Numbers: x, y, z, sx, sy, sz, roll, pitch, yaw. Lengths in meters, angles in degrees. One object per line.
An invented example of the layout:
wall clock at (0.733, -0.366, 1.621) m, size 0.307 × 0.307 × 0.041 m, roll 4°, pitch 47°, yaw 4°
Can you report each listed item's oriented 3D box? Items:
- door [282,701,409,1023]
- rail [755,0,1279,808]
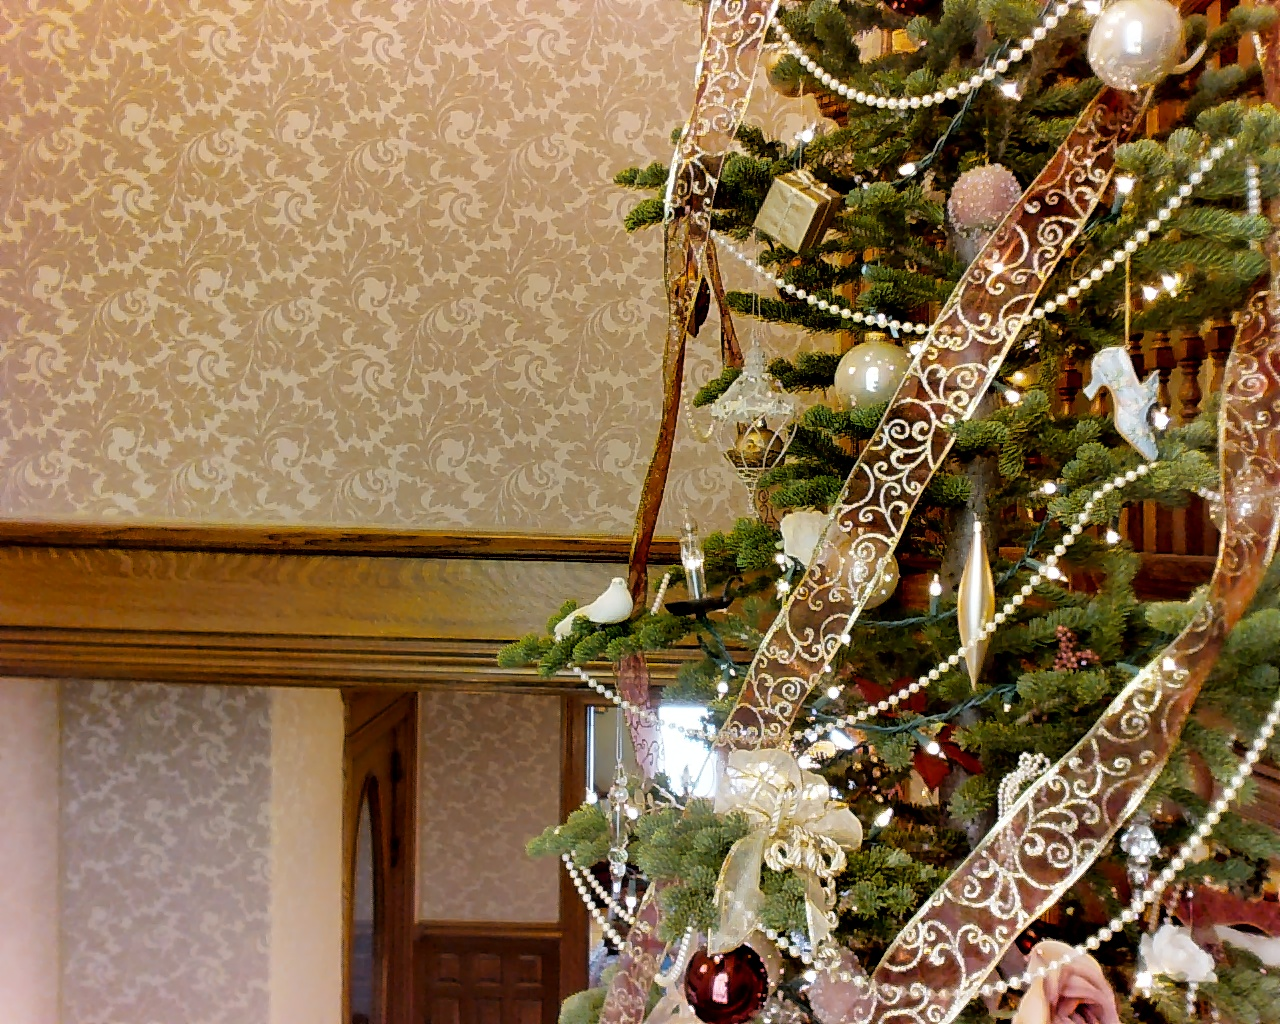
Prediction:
door at (-1.270, 2.191, 4.740) m, size 0.200 × 2.511 × 1.180 m, roll 1°, pitch 0°, yaw 1°
rail at (0.590, -0.570, 1.610) m, size 0.670 × 1.561 × 1.720 m, roll 1°, pitch 0°, yaw 1°
